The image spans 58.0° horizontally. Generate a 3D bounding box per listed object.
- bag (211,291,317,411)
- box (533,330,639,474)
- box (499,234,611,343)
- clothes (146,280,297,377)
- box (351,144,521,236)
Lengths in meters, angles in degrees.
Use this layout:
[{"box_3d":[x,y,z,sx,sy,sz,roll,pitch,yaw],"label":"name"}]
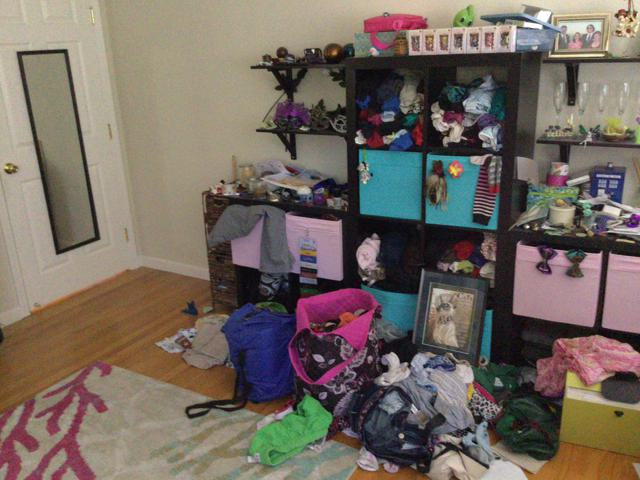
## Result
[{"box_3d":[-0.260,0.510,2.740,0.390,0.380,0.300,12,20,31],"label":"bag"},{"box_3d":[1.180,0.630,2.180,0.620,0.350,0.290,12,20,31],"label":"box"},{"box_3d":[0.960,0.190,2.380,0.360,0.370,0.080,12,10,31],"label":"box"},{"box_3d":[-0.530,0.460,3.190,0.580,0.200,0.570,12,20,31],"label":"clothes"},{"box_3d":[0.540,-0.260,2.740,0.690,0.320,0.360,9,19,32],"label":"box"}]
